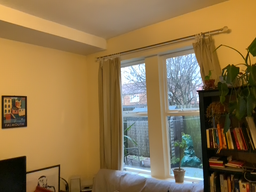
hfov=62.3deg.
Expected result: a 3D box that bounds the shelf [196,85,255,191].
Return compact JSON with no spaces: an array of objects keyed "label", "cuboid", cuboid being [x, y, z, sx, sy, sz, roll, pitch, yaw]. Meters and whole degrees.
[{"label":"shelf","cuboid":[1.150,0.850,2.220,0.650,1.870,0.320,-5,-5,36]}]
